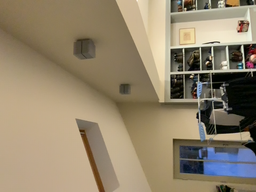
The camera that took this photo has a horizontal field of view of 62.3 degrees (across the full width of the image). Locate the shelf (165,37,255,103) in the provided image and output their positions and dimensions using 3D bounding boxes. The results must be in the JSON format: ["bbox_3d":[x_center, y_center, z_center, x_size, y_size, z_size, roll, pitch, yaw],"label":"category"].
[{"bbox_3d":[1.920,-0.520,4.590,0.380,2.180,1.310,43,-132,-73],"label":"shelf"}]

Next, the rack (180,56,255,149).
[{"bbox_3d":[1.550,0.150,2.380,1.040,1.840,0.840,49,-138,-71],"label":"rack"}]
